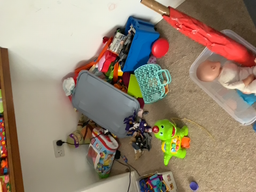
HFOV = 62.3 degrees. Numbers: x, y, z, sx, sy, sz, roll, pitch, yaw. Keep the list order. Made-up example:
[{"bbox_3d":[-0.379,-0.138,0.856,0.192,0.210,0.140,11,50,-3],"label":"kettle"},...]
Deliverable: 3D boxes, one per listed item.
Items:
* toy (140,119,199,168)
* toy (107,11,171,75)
[{"bbox_3d":[0.260,0.300,1.350,0.230,0.220,0.230,-28,70,41],"label":"toy"},{"bbox_3d":[0.070,-0.350,1.500,0.340,0.220,0.270,-27,71,41],"label":"toy"}]
